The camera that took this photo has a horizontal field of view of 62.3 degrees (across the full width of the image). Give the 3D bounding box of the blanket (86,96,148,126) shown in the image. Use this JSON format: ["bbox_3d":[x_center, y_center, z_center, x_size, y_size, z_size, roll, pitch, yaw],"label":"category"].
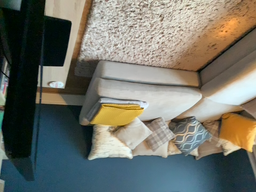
[{"bbox_3d":[-0.150,0.190,2.350,0.510,0.110,0.620,6,155,-22],"label":"blanket"}]
